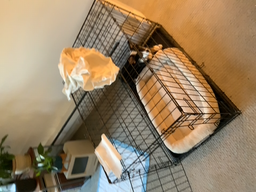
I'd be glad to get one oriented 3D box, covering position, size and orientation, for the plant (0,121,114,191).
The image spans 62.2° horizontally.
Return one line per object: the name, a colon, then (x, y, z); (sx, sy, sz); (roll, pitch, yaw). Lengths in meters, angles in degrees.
plant: (-0.790, 0.610, 1.960); (0.550, 1.100, 0.500); (-49, 54, 32)
